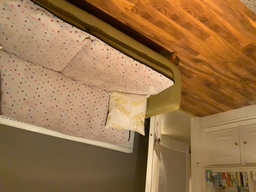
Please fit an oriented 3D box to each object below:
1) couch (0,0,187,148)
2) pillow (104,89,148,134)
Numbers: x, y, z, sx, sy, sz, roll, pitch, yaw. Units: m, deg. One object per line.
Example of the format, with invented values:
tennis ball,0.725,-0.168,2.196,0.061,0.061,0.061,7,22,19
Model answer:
couch,-0.570,-0.240,1.880,2.070,0.910,0.990,21,153,-29
pillow,-0.030,0.160,2.220,0.420,0.410,0.190,-3,143,0
